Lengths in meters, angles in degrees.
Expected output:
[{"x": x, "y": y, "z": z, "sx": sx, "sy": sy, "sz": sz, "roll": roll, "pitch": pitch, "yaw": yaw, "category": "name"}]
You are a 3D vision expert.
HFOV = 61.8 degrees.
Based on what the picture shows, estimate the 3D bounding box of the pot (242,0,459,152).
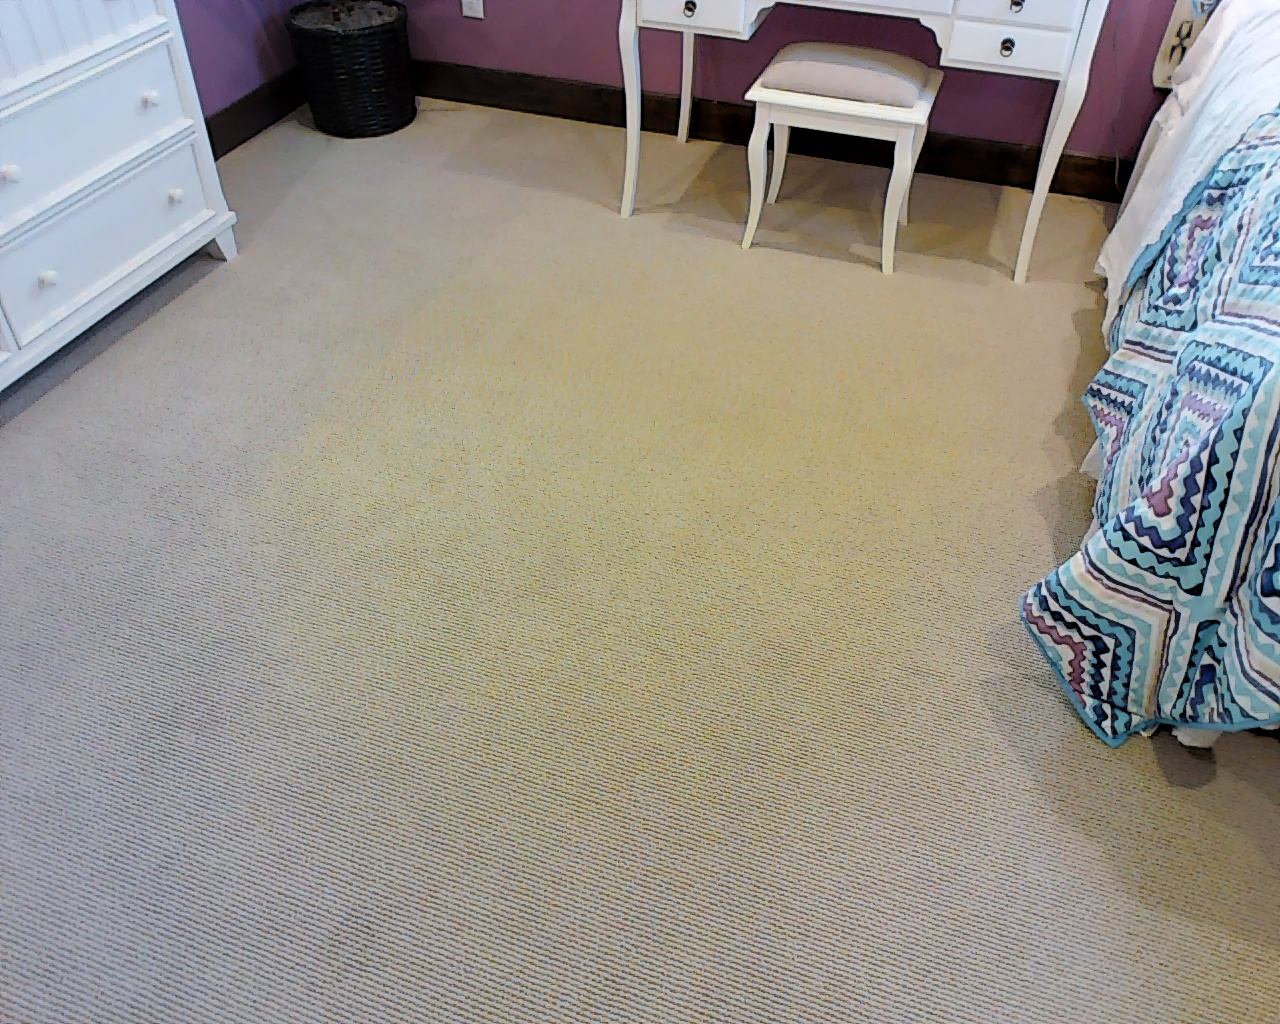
[{"x": -0.930, "y": -1.480, "z": 3.520, "sx": 0.470, "sy": 0.350, "sz": 0.460, "roll": 14, "pitch": 43, "yaw": 14, "category": "pot"}]

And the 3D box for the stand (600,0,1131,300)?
[{"x": 0.580, "y": -1.190, "z": 2.910, "sx": 1.230, "sy": 0.780, "sz": 0.630, "roll": 14, "pitch": 43, "yaw": 14, "category": "stand"}]
